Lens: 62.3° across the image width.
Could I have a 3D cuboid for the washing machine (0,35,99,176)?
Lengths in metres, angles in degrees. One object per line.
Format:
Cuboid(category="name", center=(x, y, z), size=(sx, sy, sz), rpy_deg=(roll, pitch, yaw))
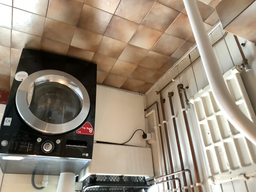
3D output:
Cuboid(category="washing machine", center=(-0.660, 0.150, 1.780), size=(0.590, 0.850, 0.770), rpy_deg=(11, 148, -24))
